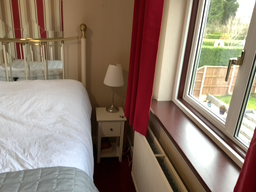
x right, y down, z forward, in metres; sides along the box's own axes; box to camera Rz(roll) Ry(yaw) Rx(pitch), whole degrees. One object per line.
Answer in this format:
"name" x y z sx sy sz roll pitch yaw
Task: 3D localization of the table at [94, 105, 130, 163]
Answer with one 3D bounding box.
"table" -0.210 0.430 2.490 0.340 0.530 0.390 0 21 -14
